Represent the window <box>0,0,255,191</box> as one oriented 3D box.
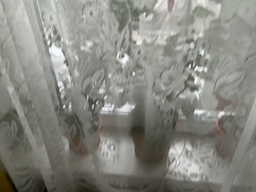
[{"bbox_3d":[0.090,-0.300,0.310,1.130,1.760,0.140,3,35,5],"label":"window"}]
